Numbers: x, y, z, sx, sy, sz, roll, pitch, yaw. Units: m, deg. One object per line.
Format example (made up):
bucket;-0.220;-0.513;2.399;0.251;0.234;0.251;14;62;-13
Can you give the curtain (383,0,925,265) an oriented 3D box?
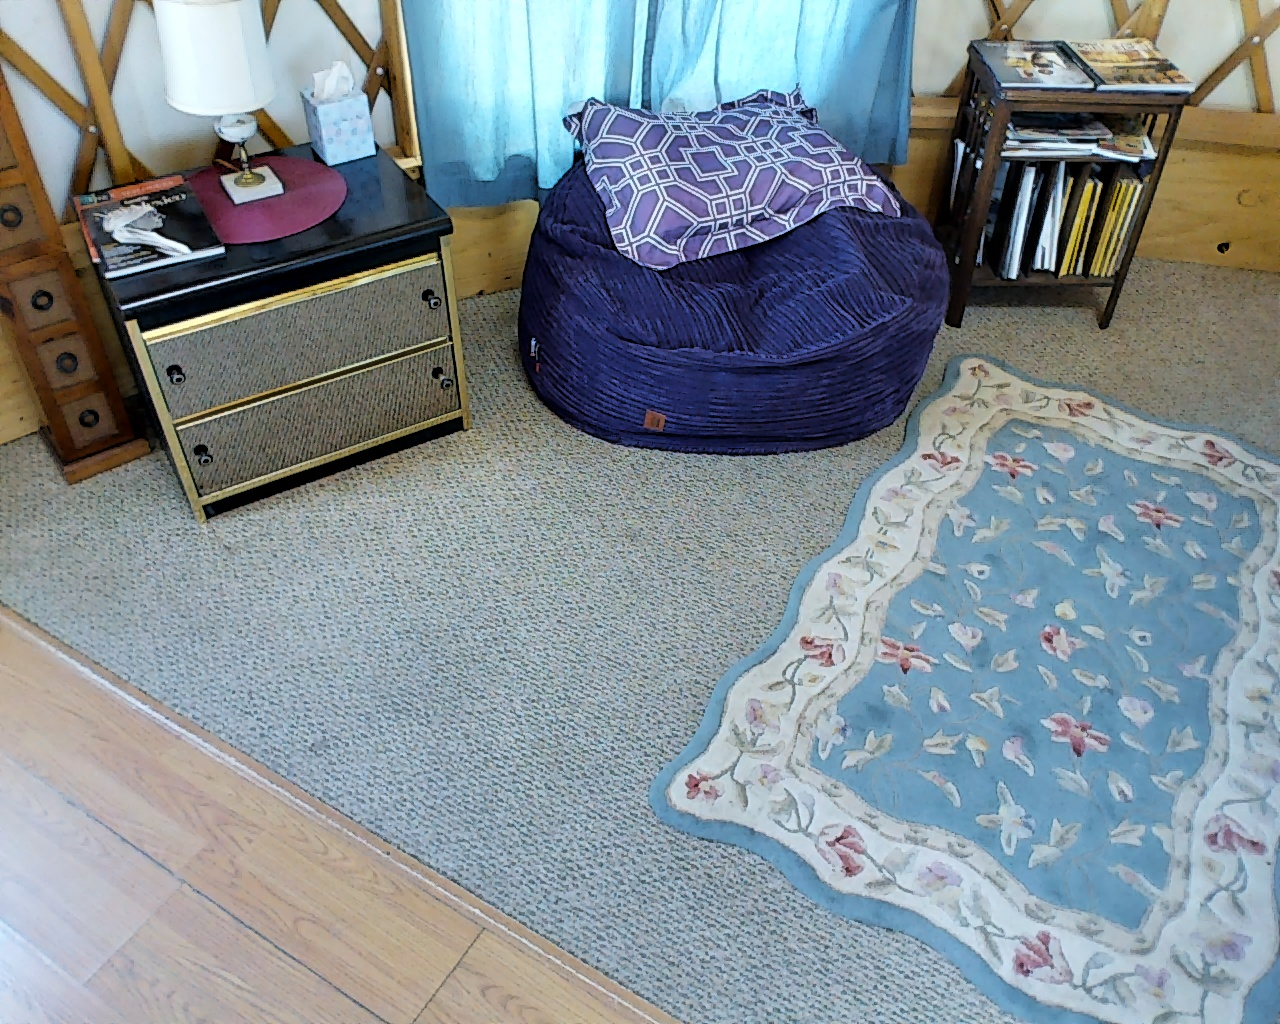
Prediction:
curtain;0.050;-1.450;2.350;1.270;1.730;0.250;-10;44;-12
